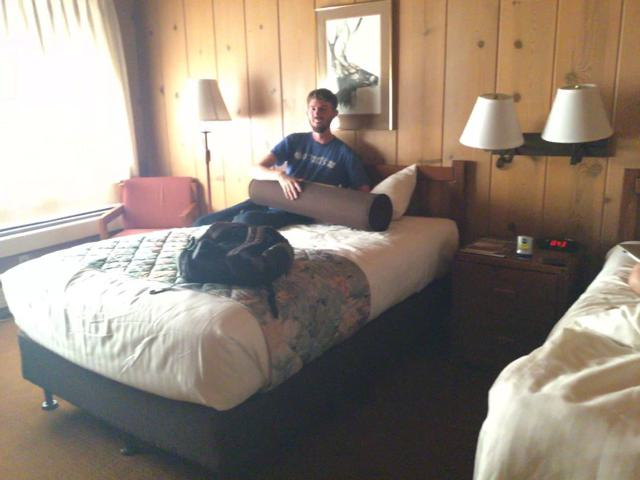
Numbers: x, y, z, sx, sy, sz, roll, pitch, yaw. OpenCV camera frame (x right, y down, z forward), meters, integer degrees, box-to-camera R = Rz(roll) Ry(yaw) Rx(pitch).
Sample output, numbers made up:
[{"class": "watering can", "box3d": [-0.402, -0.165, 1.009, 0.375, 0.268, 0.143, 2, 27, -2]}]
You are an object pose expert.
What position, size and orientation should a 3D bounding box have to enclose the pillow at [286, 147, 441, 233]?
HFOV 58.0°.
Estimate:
[{"class": "pillow", "box3d": [0.240, -0.300, 3.170, 0.700, 0.330, 0.460, 9, 20, 34]}]
